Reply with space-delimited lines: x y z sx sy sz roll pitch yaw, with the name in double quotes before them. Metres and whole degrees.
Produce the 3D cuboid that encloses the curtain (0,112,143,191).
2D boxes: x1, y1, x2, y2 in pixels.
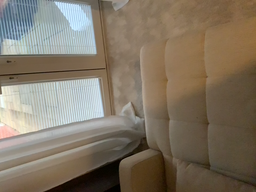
"curtain" -0.720 0.480 1.310 0.160 2.120 0.360 1 99 49
